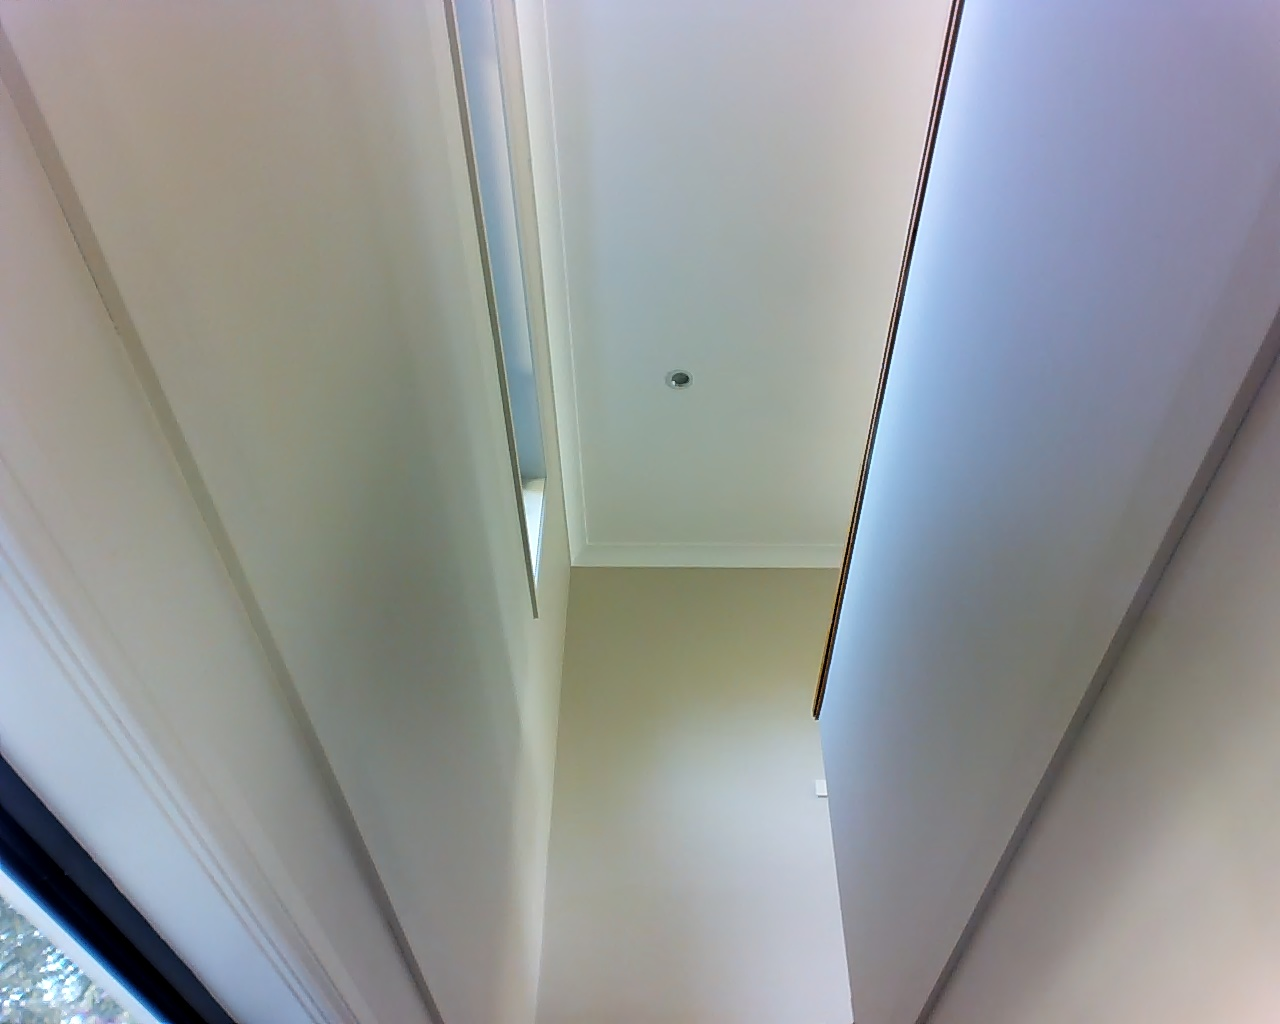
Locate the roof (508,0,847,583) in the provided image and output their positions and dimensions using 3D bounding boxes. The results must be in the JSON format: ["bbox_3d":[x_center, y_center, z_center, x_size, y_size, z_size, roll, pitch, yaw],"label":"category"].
[{"bbox_3d":[0.120,-1.280,3.740,1.050,0.130,4.651,0,-43,1],"label":"roof"}]
